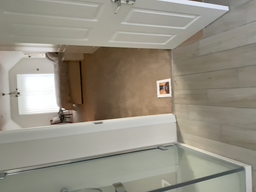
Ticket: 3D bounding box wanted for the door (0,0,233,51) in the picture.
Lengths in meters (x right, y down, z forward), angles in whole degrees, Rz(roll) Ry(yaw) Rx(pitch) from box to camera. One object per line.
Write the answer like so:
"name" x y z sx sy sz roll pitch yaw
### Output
"door" -0.290 -0.540 1.600 0.810 2.060 0.050 156 109 -65
